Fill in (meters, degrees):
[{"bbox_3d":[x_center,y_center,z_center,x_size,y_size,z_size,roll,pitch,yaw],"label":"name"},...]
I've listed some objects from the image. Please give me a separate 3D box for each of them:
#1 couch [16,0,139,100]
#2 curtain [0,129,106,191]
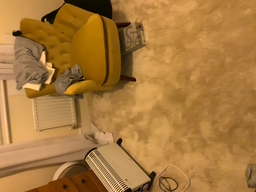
[{"bbox_3d":[-0.450,-0.390,1.870,0.690,0.740,0.740,-7,89,47],"label":"couch"},{"bbox_3d":[-1.140,0.590,1.610,0.240,2.220,0.280,-5,90,47],"label":"curtain"}]
